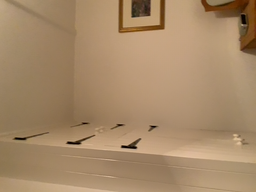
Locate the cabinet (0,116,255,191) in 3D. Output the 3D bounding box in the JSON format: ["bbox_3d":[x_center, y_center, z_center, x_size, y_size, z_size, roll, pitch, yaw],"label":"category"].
[{"bbox_3d":[0.410,0.360,1.540,1.080,2.460,0.230,0,-89,-74],"label":"cabinet"}]
